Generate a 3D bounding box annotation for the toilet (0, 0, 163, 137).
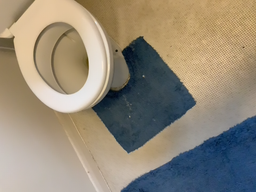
[{"bbox_3d":[-0.330,-0.280,0.810,0.450,0.800,0.660,-36,79,21],"label":"toilet"}]
